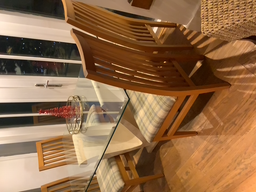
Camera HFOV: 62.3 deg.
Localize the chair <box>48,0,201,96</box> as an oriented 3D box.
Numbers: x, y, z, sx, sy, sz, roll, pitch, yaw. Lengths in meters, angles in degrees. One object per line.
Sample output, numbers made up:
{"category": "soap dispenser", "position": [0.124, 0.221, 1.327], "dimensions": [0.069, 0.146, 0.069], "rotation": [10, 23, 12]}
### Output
{"category": "chair", "position": [-0.060, -0.380, 1.690], "dimensions": [0.610, 0.970, 0.470], "rotation": [-63, 40, 38]}
